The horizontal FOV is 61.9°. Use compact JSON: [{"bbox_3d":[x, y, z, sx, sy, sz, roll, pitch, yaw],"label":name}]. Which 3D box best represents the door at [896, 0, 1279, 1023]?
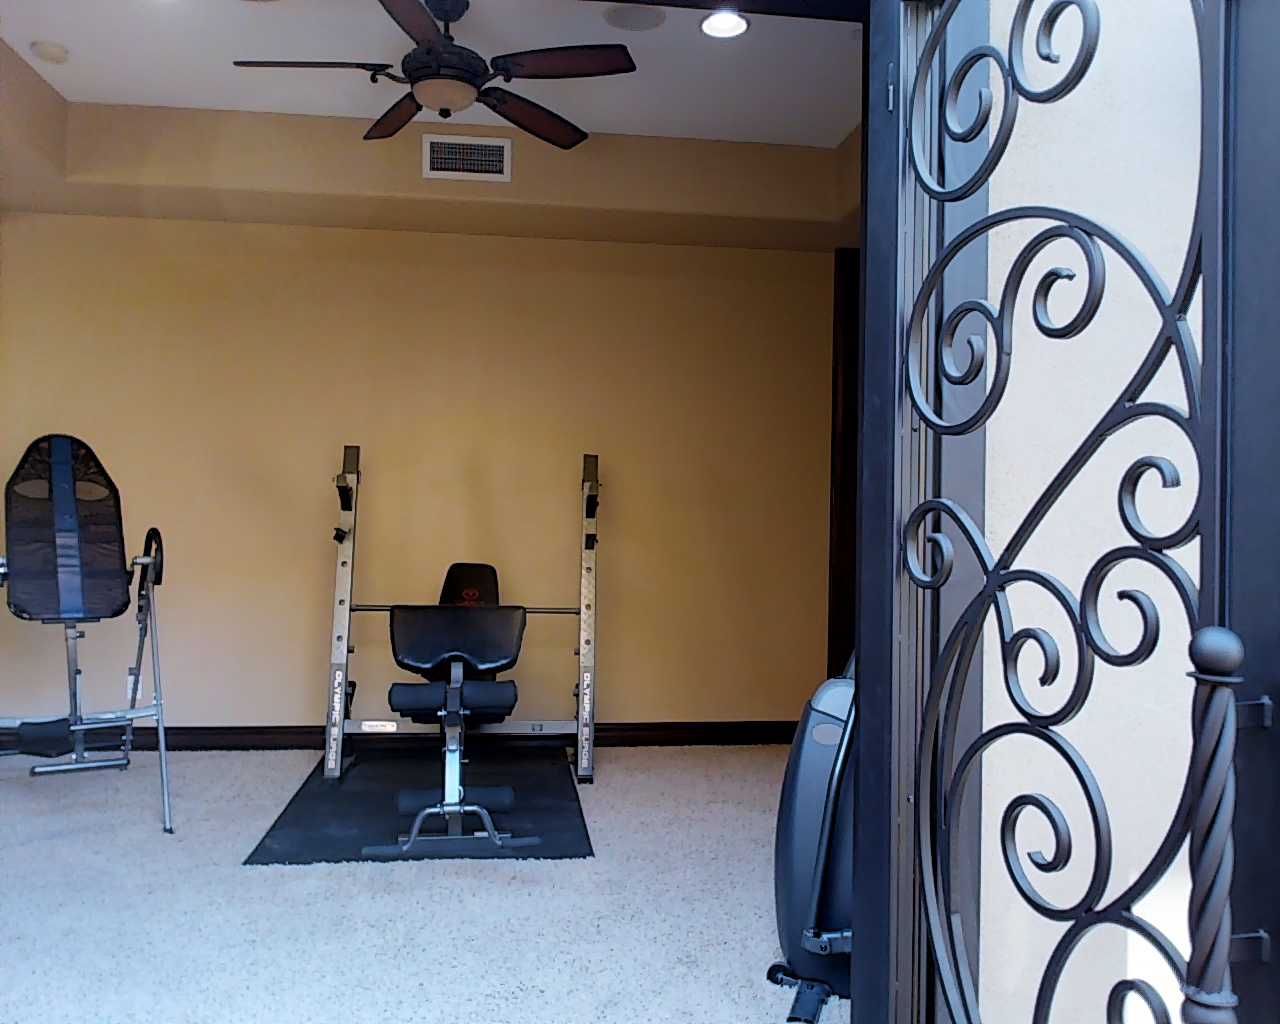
[{"bbox_3d":[0.580,0.140,1.360,0.160,2.330,0.730,2,-1,-12],"label":"door"}]
